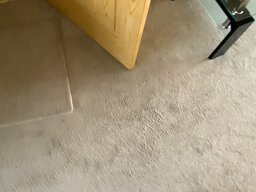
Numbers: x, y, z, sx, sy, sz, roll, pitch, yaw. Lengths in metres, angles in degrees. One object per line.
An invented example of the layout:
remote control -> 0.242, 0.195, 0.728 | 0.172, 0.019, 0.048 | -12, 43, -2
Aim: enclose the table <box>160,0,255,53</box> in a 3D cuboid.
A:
table -> 0.720, -0.690, 1.310 | 0.860, 0.390, 0.440 | -23, 74, -14
